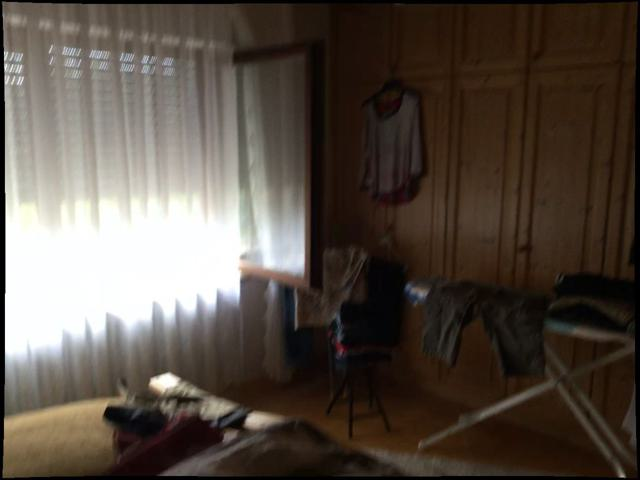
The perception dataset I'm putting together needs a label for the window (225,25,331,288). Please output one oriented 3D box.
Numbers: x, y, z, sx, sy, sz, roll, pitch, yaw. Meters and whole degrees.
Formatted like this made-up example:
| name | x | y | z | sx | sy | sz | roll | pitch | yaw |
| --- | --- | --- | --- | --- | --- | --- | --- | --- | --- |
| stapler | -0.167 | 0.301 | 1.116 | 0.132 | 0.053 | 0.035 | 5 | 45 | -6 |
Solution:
| name | x | y | z | sx | sy | sz | roll | pitch | yaw |
| --- | --- | --- | --- | --- | --- | --- | --- | --- | --- |
| window | -0.230 | -0.430 | 3.060 | 0.120 | 1.251 | 0.690 | -12 | 17 | -43 |
